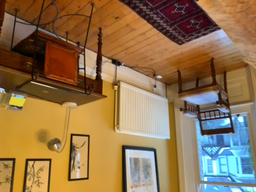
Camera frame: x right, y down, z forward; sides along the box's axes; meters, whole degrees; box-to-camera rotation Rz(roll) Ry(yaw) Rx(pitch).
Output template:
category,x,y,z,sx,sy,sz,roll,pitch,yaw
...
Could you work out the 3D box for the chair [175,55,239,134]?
category,x,y,z,sx,sy,sz,roll,pitch,yaw
chair,1.190,0.030,3.230,0.570,0.970,0.730,-15,158,41
